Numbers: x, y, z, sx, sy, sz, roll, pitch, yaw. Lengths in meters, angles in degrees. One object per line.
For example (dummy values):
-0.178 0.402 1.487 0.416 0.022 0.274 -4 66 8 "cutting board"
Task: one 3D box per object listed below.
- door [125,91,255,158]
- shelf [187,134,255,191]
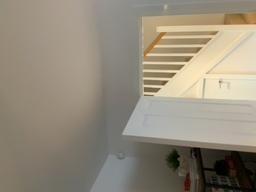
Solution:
1.030 0.180 1.670 1.000 1.920 0.060 -57 -33 -67 "door"
1.300 0.710 1.850 0.760 1.470 0.330 -54 -37 -69 "shelf"
